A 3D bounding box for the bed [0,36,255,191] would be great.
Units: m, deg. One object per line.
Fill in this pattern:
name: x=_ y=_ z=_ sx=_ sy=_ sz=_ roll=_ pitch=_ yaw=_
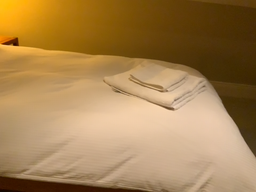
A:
bed: x=-0.450 y=0.100 z=1.270 sx=2.130 sy=0.540 sz=1.140 roll=7 pitch=27 yaw=0
